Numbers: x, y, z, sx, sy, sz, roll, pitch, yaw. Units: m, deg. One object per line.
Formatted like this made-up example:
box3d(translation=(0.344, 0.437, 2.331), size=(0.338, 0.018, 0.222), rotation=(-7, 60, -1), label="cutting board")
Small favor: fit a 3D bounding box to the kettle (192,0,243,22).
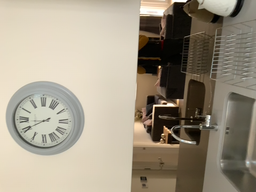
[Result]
box3d(translation=(0.530, -0.580, 1.270), size=(0.240, 0.190, 0.210), rotation=(-109, 21, -79), label="kettle")
